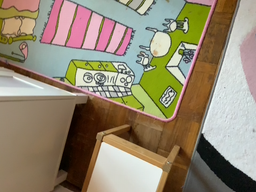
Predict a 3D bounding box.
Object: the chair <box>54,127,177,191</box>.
[{"bbox_3d":[-0.020,0.350,0.800,0.270,0.480,0.330,17,96,19],"label":"chair"}]
